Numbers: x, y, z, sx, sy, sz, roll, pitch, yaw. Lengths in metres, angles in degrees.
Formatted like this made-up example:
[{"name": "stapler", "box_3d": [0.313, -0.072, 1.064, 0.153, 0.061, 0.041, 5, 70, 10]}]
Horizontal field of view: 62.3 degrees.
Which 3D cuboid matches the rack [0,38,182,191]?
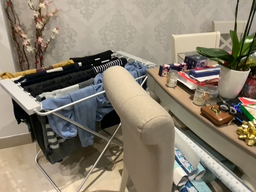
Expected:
[{"name": "rack", "box_3d": [-0.220, 0.070, 1.660, 1.140, 0.750, 0.610, -24, 39, -38]}]
